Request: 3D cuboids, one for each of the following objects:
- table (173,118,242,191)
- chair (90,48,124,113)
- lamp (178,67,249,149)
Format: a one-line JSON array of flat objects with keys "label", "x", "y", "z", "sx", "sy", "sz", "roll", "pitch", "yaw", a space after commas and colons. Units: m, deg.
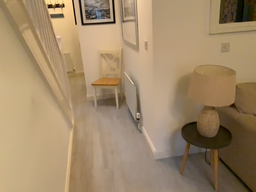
[{"label": "table", "x": 0.680, "y": 0.510, "z": 1.910, "sx": 0.400, "sy": 0.450, "sz": 0.400, "roll": -7, "pitch": 21, "yaw": -10}, {"label": "chair", "x": -0.370, "y": -0.280, "z": 3.640, "sx": 0.460, "sy": 0.960, "sz": 0.510, "roll": -6, "pitch": 21, "yaw": -8}, {"label": "lamp", "x": 0.650, "y": 0.080, "z": 1.710, "sx": 0.350, "sy": 0.520, "sz": 0.360, "roll": -7, "pitch": 21, "yaw": -9}]
